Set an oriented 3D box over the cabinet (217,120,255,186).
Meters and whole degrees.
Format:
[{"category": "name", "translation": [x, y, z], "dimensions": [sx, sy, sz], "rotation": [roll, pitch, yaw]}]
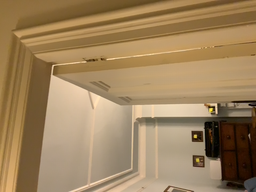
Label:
[{"category": "cabinet", "translation": [2.510, 1.140, 4.380], "dimensions": [0.600, 1.170, 1.230], "rotation": [31, -122, -66]}]
